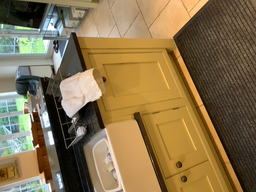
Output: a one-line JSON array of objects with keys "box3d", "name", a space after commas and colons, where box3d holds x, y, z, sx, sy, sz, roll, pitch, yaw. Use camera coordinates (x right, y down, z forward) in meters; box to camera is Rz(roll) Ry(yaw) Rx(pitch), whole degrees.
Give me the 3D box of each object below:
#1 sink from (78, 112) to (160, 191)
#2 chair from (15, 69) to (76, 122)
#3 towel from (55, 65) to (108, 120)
[{"box3d": [-0.100, 0.410, 1.400, 0.530, 0.220, 0.420, -43, 61, 52], "name": "sink"}, {"box3d": [-1.730, -0.050, 4.390, 0.740, 0.980, 0.660, 58, 141, 32], "name": "chair"}, {"box3d": [-0.290, -0.020, 1.280, 0.270, 0.200, 0.220, -41, 63, 53], "name": "towel"}]
